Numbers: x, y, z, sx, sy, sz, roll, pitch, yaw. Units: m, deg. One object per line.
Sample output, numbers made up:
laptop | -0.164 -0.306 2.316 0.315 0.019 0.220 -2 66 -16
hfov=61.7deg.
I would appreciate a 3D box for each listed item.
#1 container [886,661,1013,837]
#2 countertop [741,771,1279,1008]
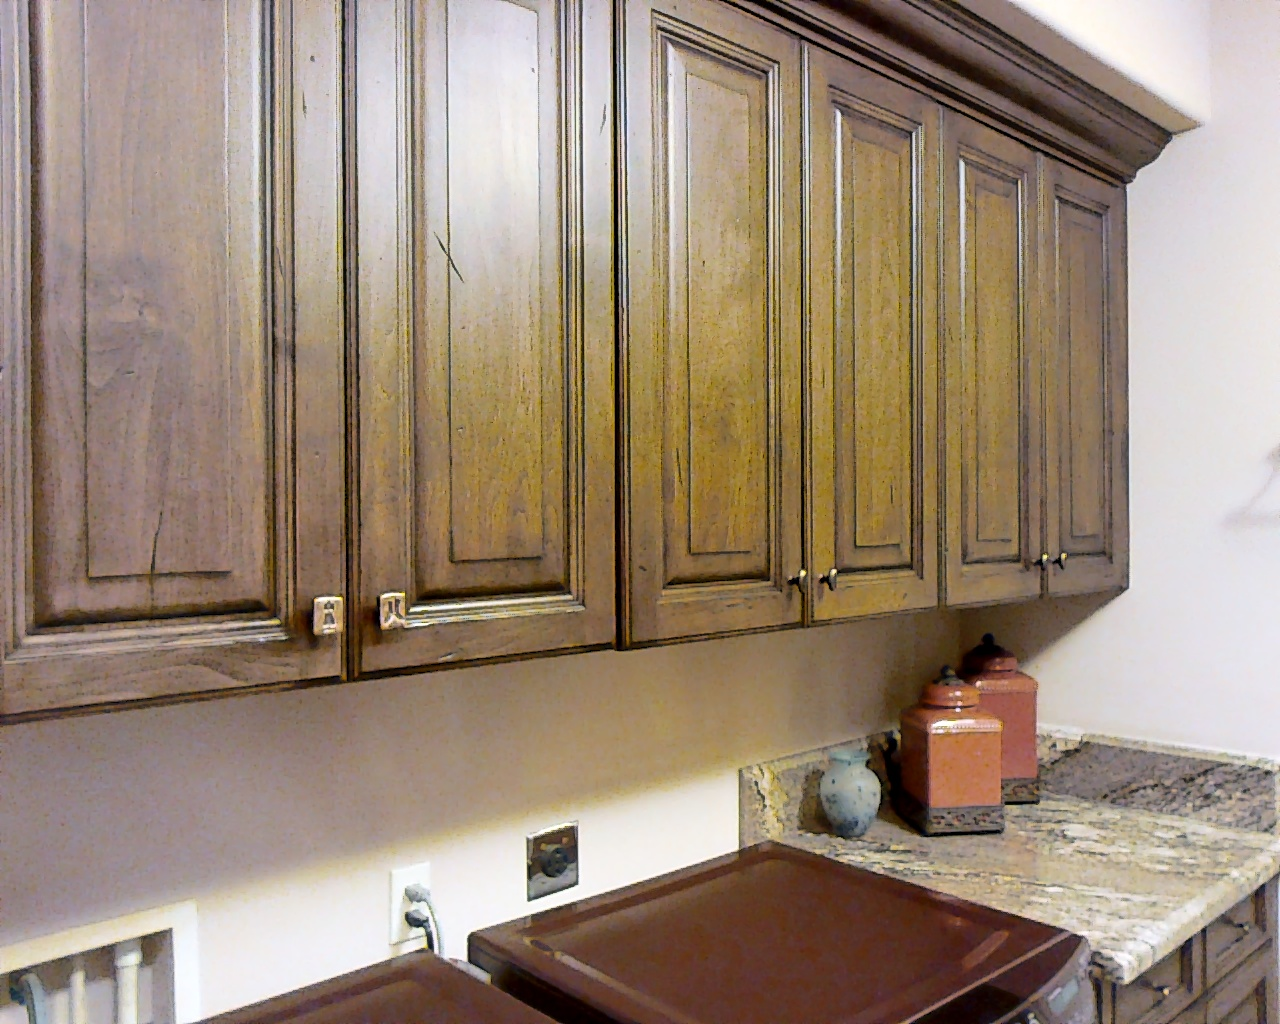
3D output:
container | 0.660 0.500 2.310 0.200 0.320 0.260 -1 0 1
countertop | 0.780 0.690 2.140 0.880 0.060 0.760 -1 0 -44
